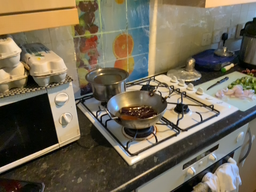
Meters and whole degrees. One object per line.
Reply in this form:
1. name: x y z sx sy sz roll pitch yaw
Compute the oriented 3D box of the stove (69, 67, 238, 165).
1. stove: 0.100 0.020 1.000 0.590 0.040 0.520 -19 33 -29
